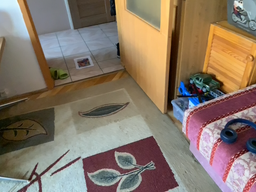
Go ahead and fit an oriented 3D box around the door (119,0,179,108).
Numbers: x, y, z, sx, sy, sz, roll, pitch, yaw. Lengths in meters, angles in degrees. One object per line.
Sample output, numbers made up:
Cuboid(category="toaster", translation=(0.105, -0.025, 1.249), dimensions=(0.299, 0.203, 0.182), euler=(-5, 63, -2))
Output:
Cuboid(category="door", translation=(0.090, -0.910, 1.420), dimensions=(0.060, 1.910, 0.880), euler=(-16, 39, -15))
